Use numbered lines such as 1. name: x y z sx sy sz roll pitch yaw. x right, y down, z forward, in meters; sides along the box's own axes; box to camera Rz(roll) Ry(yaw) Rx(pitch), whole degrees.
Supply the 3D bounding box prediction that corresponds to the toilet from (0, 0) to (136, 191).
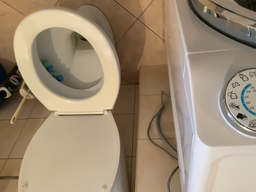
1. toilet: -0.210 -0.020 0.820 0.400 0.800 0.620 -4 134 8
